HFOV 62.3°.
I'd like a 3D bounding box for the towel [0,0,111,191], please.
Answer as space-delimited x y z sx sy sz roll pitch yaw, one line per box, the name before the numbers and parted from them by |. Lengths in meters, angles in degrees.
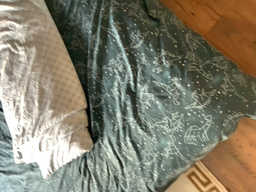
towel | -0.560 -0.140 1.070 0.630 0.140 1.140 -24 85 32
